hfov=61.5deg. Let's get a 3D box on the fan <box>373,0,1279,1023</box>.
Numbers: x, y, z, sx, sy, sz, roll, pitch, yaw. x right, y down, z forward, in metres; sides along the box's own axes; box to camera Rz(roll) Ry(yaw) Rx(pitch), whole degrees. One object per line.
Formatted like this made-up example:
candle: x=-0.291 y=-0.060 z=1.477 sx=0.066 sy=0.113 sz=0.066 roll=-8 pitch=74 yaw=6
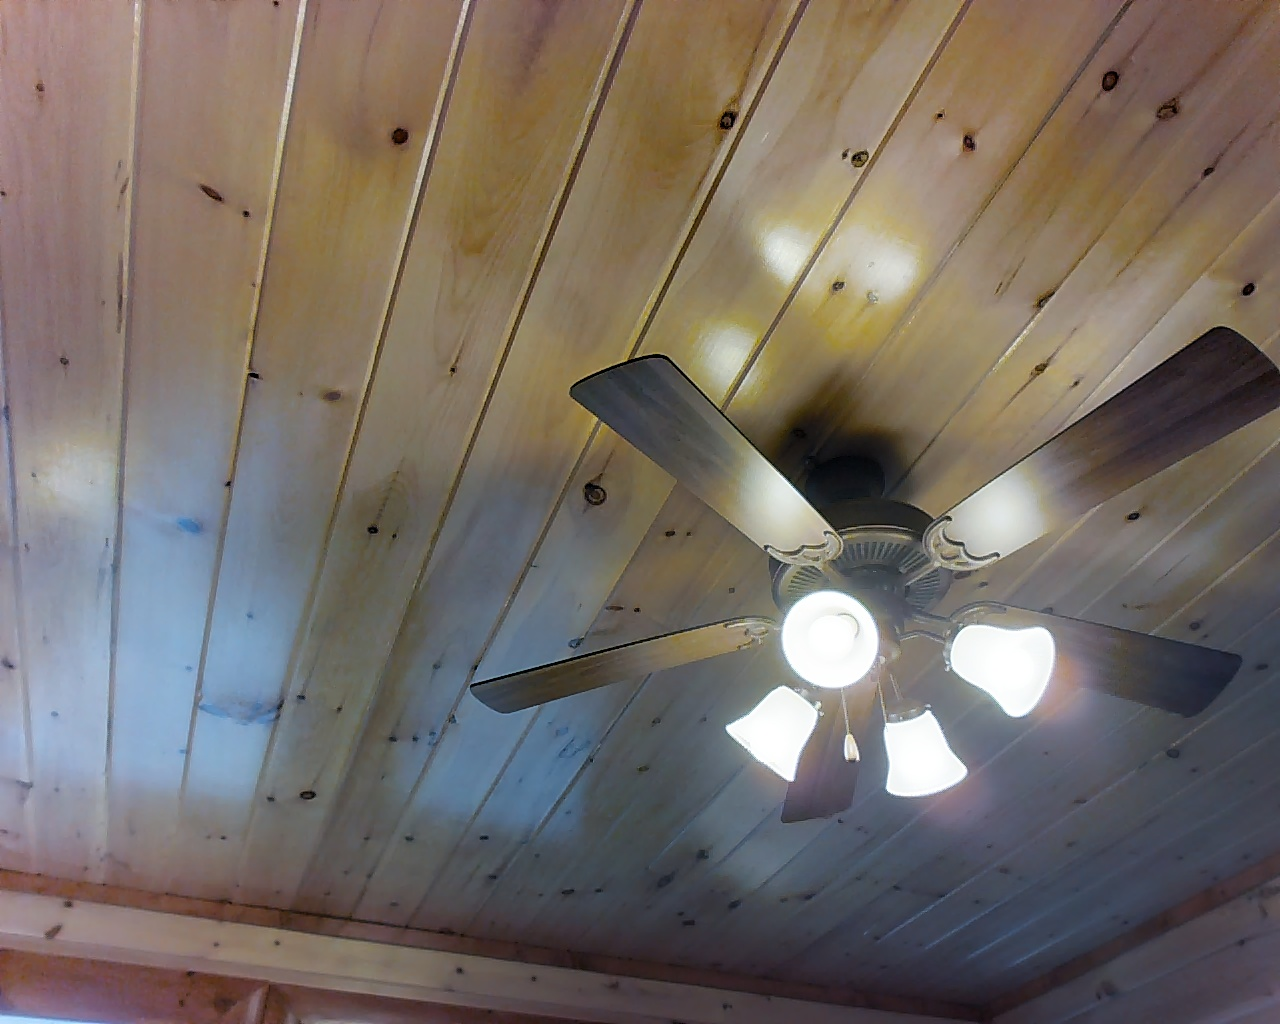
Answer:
fan: x=0.380 y=0.100 z=1.730 sx=1.350 sy=1.280 sz=0.390 roll=31 pitch=43 yaw=1
